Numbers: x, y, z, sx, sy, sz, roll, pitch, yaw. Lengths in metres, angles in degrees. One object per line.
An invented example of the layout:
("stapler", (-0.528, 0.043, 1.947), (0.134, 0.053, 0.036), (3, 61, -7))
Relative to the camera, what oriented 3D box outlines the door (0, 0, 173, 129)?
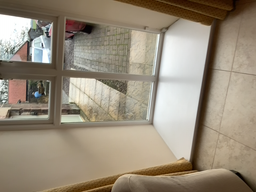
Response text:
("door", (-0.580, -0.240, 1.980), (0.110, 2.210, 1.050), (-156, 70, -63))
